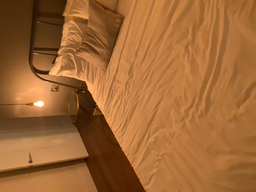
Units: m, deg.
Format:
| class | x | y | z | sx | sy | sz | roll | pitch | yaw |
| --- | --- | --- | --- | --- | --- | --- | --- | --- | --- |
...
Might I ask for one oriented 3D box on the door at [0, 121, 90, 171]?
| class | x | y | z | sx | sy | sz | roll | pitch | yaw |
| --- | --- | --- | --- | --- | --- | --- | --- | --- | --- |
| door | -1.690 | 0.750 | 3.260 | 0.850 | 2.040 | 0.050 | 49 | 130 | 45 |
